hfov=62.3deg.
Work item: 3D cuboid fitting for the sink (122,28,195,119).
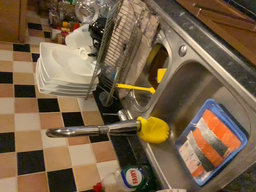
[{"bbox_3d":[0.110,-0.090,0.940,0.210,0.110,0.330,62,140,39],"label":"sink"}]

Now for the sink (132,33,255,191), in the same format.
[{"bbox_3d":[0.250,0.120,0.750,0.420,0.160,0.500,62,140,39],"label":"sink"}]
